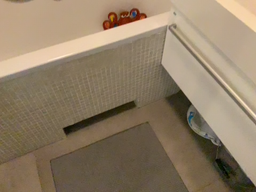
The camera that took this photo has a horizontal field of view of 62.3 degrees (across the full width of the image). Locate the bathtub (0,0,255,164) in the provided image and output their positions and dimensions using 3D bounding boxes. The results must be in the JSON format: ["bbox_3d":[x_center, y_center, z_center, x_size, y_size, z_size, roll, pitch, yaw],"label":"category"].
[{"bbox_3d":[-0.380,-0.260,1.210,1.840,0.600,0.740,-21,57,-14],"label":"bathtub"}]
